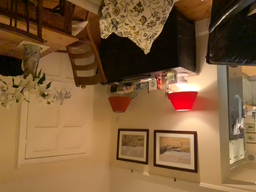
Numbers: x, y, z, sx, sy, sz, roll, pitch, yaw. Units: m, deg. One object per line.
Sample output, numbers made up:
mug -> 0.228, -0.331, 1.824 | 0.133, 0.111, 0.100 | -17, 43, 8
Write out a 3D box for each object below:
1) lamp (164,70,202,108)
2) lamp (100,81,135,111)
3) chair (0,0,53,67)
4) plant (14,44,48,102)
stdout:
lamp -> 0.740, -0.080, 2.870 | 0.370, 0.440, 0.360 | -5, 171, 39
lamp -> -0.180, 0.020, 3.680 | 0.460, 0.460, 0.370 | -6, 171, 41
chair -> -0.940, -0.790, 1.650 | 0.590, 0.970, 0.430 | -5, 171, 39
plant -> -0.900, -0.200, 1.980 | 0.200, 0.490, 0.200 | -6, 171, 41
